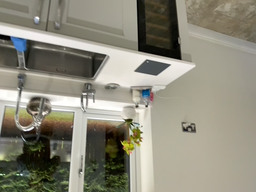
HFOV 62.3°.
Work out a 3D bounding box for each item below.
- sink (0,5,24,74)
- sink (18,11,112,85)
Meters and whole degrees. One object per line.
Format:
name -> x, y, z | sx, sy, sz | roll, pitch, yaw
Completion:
sink -> -0.780, -0.330, 1.250 | 0.270, 0.240, 0.350 | 8, 159, -23
sink -> -0.410, -0.280, 1.400 | 0.520, 0.240, 0.350 | 8, 159, -23
